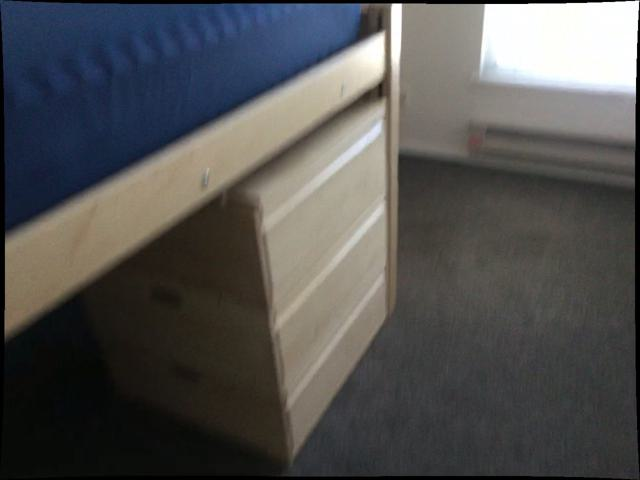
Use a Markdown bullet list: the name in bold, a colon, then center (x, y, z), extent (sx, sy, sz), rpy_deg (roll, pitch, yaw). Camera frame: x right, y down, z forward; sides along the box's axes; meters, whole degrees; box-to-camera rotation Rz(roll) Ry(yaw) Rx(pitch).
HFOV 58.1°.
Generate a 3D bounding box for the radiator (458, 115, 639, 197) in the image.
- **radiator**: center (1.118, -0.381, 2.620), extent (0.949, 0.240, 0.080), rpy_deg (13, 36, 24)
